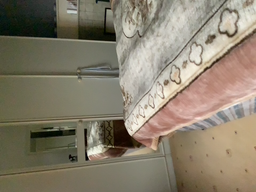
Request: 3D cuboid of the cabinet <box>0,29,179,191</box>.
[{"bbox_3d":[-0.690,0.510,2.290,0.640,2.180,2.330,133,133,-65],"label":"cabinet"}]
